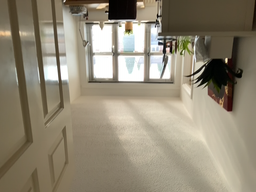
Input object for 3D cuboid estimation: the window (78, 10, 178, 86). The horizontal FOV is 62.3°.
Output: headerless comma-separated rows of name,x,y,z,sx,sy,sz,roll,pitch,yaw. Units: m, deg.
window,-0.010,-0.900,4.140,1.830,1.380,0.230,1,-166,6
